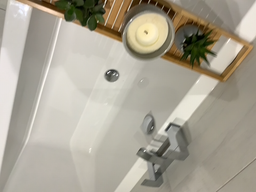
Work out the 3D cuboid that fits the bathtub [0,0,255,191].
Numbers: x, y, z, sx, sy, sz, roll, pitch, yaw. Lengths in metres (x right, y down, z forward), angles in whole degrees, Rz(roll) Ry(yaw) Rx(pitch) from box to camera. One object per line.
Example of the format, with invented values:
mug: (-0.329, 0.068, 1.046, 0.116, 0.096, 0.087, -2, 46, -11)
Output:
bathtub: (-0.160, -0.070, 0.990, 0.690, 0.550, 1.680, 16, 124, -21)
